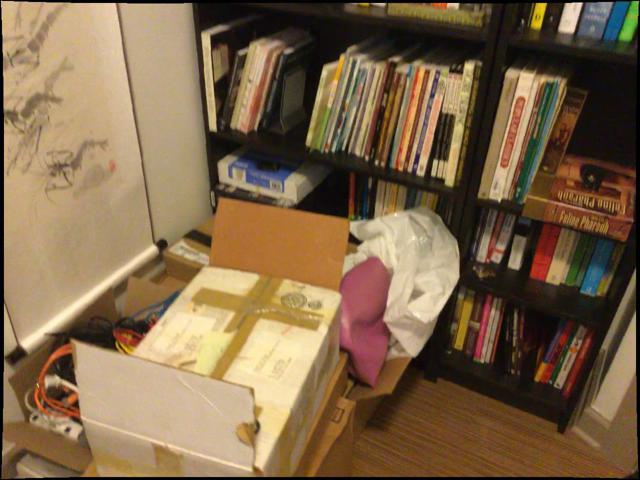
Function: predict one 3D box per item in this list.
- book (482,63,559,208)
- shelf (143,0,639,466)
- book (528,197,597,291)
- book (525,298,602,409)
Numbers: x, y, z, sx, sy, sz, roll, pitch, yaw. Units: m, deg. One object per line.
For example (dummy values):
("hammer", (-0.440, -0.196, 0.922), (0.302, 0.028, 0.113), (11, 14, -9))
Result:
("book", (0.449, -0.231, 1.310), (0.090, 0.310, 0.060), (20, 40, 23))
("shelf", (0.229, -0.521, 1.330), (1.268, 1.973, 0.460), (20, 40, 23))
("book", (0.628, 0.010, 1.500), (0.100, 0.190, 0.120), (20, 40, 23))
("book", (0.658, 0.311, 1.570), (0.110, 0.270, 0.110), (20, 40, 23))
